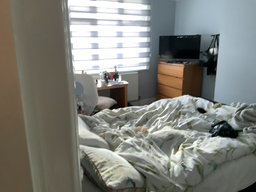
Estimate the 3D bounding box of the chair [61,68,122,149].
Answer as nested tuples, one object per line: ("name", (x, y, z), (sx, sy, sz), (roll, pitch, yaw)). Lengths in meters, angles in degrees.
("chair", (-0.510, 0.130, 3.200), (0.570, 1.010, 0.660), (7, 16, 27))
